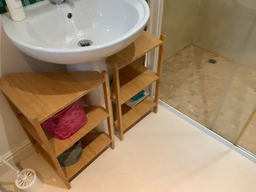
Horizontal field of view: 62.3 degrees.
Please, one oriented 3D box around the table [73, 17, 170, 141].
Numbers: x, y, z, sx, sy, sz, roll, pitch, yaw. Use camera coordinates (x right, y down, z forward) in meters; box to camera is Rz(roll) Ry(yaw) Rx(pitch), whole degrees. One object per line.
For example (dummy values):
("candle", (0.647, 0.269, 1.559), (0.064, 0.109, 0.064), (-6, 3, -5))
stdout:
("table", (-0.030, -0.100, 1.320), (0.350, 0.580, 0.370), (35, 55, 30))
